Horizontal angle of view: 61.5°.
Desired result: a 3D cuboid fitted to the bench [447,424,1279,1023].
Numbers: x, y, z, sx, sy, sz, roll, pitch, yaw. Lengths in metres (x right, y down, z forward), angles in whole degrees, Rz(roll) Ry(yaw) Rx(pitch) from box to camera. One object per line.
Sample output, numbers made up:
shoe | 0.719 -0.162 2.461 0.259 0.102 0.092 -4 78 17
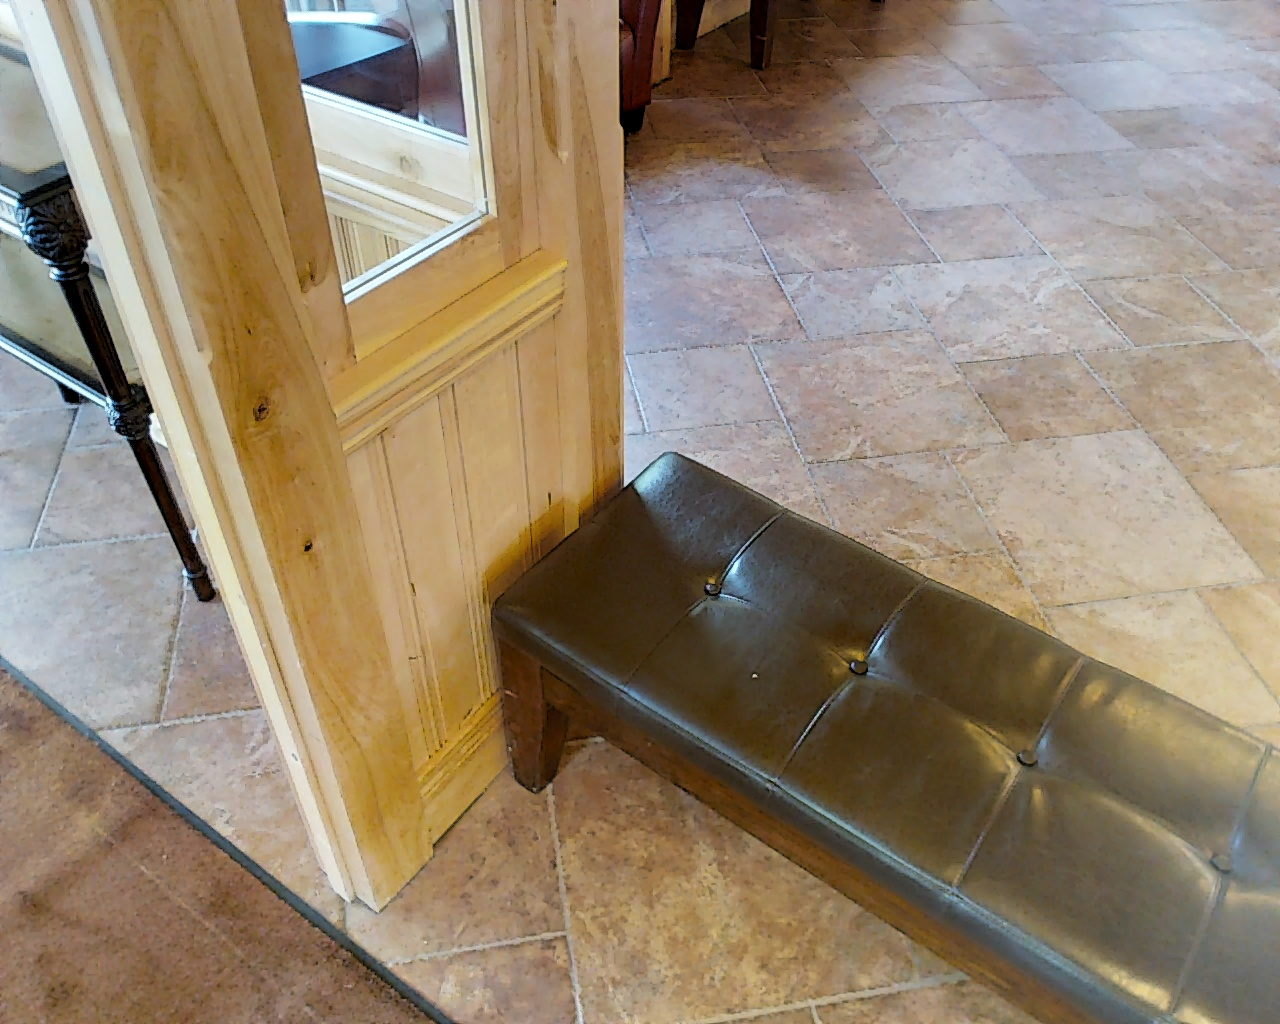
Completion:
bench | 0.670 0.580 1.410 2.020 0.470 0.520 28 49 27
